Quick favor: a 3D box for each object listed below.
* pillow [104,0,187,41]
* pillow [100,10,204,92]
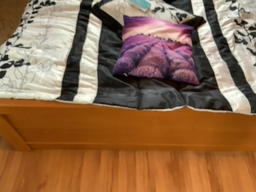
[{"bbox_3d":[0.100,-0.500,1.290,0.450,0.150,0.290,3,54,1],"label":"pillow"},{"bbox_3d":[0.100,-0.230,1.030,0.420,0.140,0.410,2,54,0],"label":"pillow"}]
